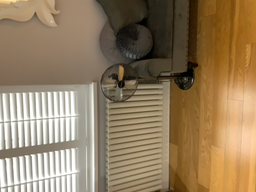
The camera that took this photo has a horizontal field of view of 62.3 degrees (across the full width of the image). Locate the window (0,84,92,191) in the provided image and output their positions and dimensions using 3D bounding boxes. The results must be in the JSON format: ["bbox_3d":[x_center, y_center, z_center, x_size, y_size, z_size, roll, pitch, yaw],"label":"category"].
[{"bbox_3d":[-0.900,0.450,1.930,0.100,1.150,1.100,10,101,61],"label":"window"}]

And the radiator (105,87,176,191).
[{"bbox_3d":[0.150,0.500,2.260,0.110,0.800,1.180,10,101,61],"label":"radiator"}]

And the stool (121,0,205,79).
[{"bbox_3d":[0.320,-0.840,1.990,0.470,0.610,1.330,13,104,61],"label":"stool"}]
